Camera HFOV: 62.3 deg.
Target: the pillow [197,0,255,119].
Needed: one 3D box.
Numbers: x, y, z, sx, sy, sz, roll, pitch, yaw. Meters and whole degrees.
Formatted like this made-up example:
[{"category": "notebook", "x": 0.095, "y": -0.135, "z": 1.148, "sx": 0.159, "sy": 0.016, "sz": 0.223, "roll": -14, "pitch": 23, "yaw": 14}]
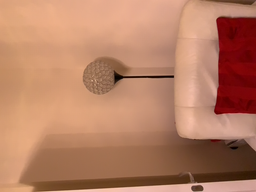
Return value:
[{"category": "pillow", "x": 0.640, "y": -0.150, "z": 1.010, "sx": 0.490, "sy": 0.410, "sz": 0.090, "roll": -66, "pitch": -6, "yaw": 10}]
